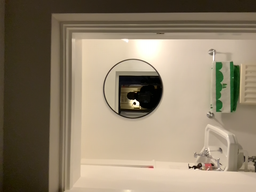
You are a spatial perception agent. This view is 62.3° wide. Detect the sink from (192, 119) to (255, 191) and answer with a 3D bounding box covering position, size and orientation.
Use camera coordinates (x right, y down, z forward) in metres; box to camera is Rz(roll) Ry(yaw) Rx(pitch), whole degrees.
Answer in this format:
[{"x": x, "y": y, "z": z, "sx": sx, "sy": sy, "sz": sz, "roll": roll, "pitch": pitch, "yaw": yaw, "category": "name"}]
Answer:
[{"x": 0.730, "y": 0.420, "z": 1.680, "sx": 0.560, "sy": 0.290, "sz": 0.400, "roll": -10, "pitch": -79, "yaw": -87, "category": "sink"}]
